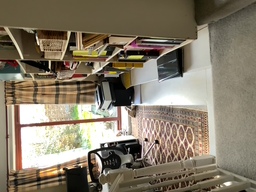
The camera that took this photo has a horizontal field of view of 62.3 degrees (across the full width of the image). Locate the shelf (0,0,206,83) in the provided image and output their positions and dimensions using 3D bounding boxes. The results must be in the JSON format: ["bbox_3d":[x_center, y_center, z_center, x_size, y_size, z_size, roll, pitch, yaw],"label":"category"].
[{"bbox_3d":[-0.800,-0.440,2.310,2.600,1.810,0.380,175,93,-68],"label":"shelf"}]

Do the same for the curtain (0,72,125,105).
[{"bbox_3d":[-1.170,-0.130,3.720,0.380,2.240,0.510,177,92,-68],"label":"curtain"}]

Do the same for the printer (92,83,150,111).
[{"bbox_3d":[-0.140,0.010,3.570,0.590,0.820,0.420,175,93,-68],"label":"printer"}]
